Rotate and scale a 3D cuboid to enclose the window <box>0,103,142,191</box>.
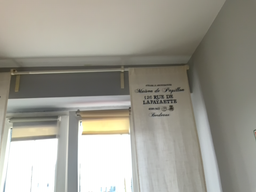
[{"bbox_3d":[-0.440,0.750,1.510,1.080,1.390,0.110,-2,-21,-4],"label":"window"}]
